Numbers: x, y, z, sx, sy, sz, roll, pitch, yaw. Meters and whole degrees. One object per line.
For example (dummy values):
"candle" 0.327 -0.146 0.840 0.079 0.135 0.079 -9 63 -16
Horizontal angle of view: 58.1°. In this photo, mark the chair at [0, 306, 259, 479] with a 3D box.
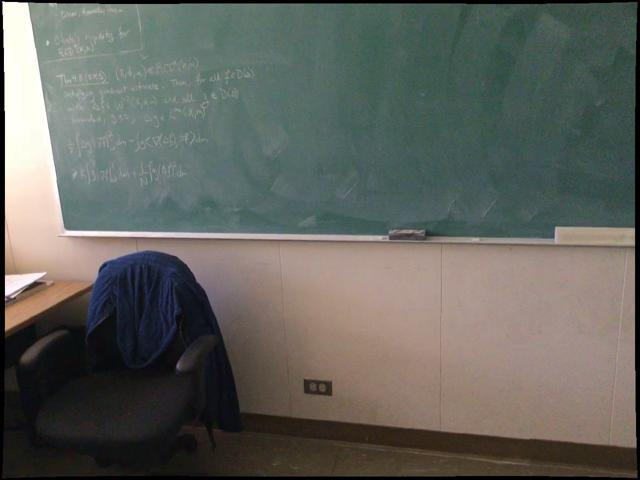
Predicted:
"chair" -0.648 0.662 2.070 0.628 0.642 0.620 0 16 13

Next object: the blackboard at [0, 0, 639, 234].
"blackboard" 0.100 -0.632 1.960 2.604 1.203 0.170 0 16 13

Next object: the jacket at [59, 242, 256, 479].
"jacket" -0.598 0.481 2.260 0.519 0.882 0.360 0 16 13
